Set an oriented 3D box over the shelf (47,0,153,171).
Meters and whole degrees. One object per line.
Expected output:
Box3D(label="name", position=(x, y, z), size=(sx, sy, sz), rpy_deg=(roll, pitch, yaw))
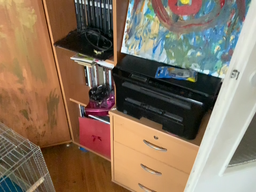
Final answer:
Box3D(label="shelf", position=(-0.120, -0.370, 1.070), size=(0.360, 1.900, 0.350), rpy_deg=(20, 41, 20))
